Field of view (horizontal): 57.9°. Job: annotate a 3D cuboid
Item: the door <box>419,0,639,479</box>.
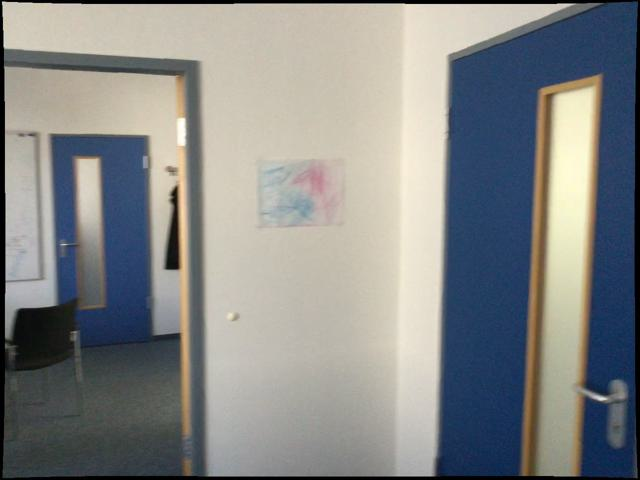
[{"bbox_3d":[0.659,0.350,1.900,0.140,2.022,1.000,-4,8,-23],"label":"door"}]
